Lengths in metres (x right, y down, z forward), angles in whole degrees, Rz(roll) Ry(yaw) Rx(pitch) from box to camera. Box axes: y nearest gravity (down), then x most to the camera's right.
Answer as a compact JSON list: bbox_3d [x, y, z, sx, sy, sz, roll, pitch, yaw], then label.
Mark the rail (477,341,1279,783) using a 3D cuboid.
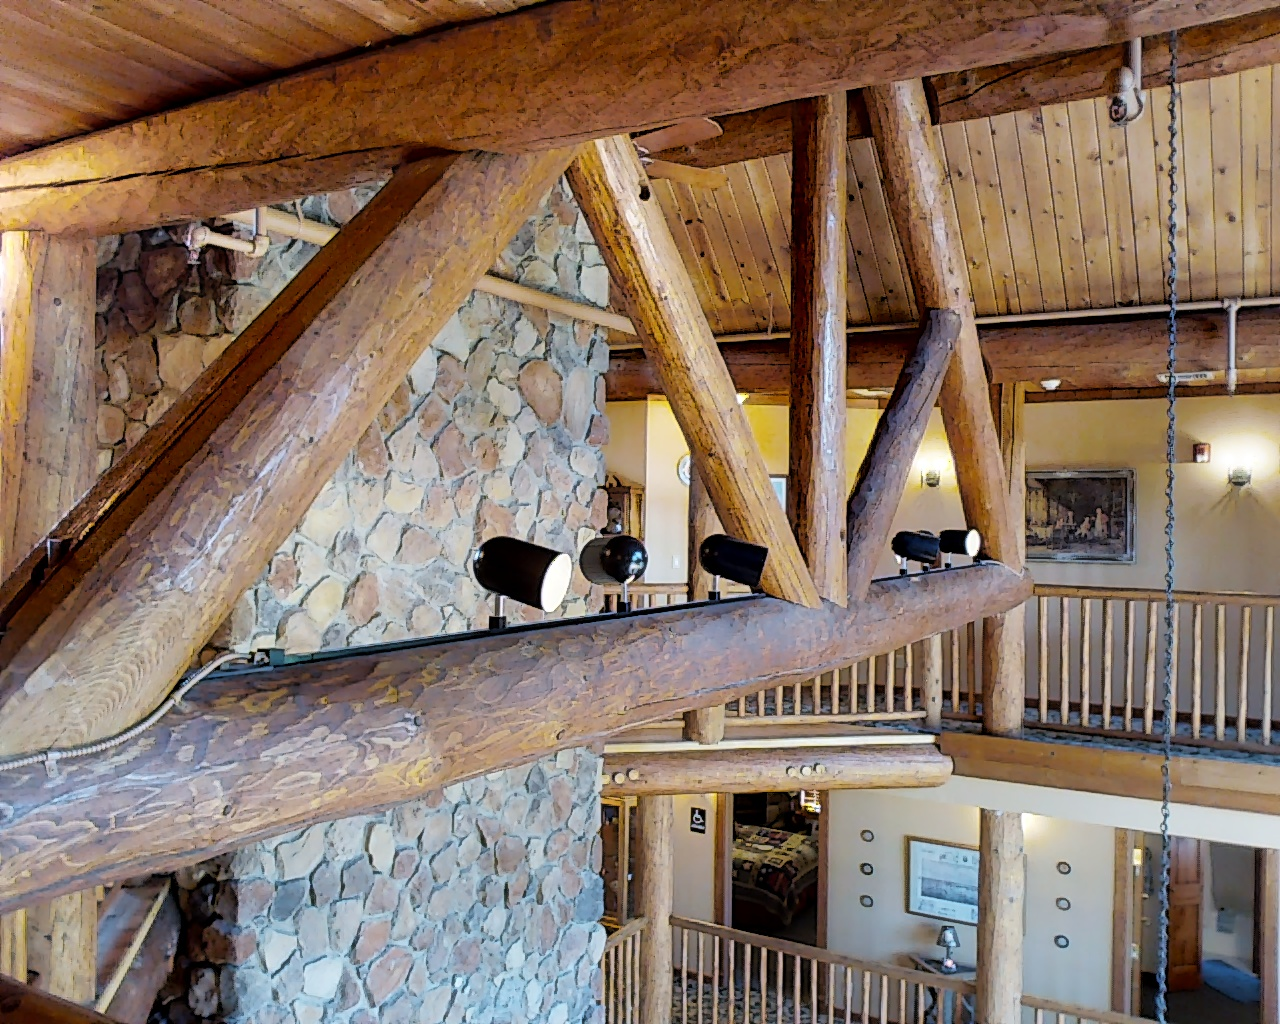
[{"bbox_3d":[2.080,0.260,7.330,6.129,2.641,1.330,1,0,7],"label":"rail"}]
